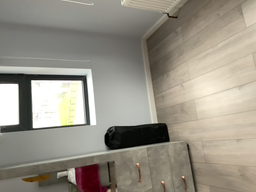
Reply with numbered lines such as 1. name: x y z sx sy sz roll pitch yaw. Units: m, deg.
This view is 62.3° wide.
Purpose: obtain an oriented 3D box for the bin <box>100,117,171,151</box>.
1. bin: 0.090 0.400 2.290 0.220 0.720 0.270 -25 69 62
